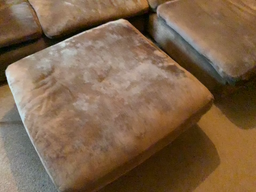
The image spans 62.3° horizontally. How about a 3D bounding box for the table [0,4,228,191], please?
[{"bbox_3d":[-0.150,-0.010,1.310,0.880,0.440,0.980,-29,59,-21],"label":"table"}]
